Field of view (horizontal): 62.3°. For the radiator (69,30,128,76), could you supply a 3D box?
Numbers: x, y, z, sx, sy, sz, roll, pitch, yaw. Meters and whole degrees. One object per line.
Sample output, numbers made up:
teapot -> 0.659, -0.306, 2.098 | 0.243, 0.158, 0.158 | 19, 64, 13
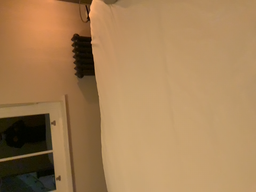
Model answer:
radiator -> -0.320, -0.460, 2.350 | 0.130, 0.590, 0.450 | -19, 77, 59
